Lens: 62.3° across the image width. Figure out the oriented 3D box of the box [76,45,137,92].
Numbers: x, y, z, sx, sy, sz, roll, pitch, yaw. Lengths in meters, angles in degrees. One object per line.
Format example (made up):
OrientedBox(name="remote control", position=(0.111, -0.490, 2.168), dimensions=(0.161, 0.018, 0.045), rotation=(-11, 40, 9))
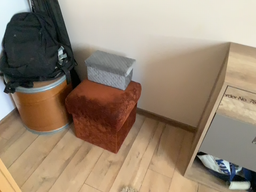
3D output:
OrientedBox(name="box", position=(-0.130, -0.180, 1.340), dimensions=(0.320, 0.140, 0.190), rotation=(17, 44, 14))
